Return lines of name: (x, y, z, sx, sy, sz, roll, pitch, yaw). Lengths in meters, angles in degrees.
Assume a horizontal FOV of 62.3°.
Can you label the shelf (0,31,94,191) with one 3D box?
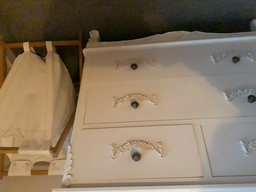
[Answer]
shelf: (-0.470, 0.080, 1.150, 0.420, 0.710, 0.480, -2, 145, 2)
